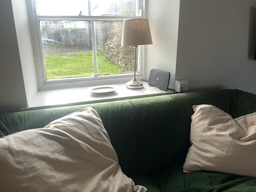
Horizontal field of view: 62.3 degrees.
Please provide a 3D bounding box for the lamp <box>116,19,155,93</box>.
[{"bbox_3d":[0.050,-0.330,1.710,0.210,0.540,0.270,-7,20,-21],"label":"lamp"}]

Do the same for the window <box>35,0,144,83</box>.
[{"bbox_3d":[-0.300,-0.680,1.830,0.900,1.080,0.090,-5,19,-17],"label":"window"}]

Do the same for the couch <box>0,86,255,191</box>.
[{"bbox_3d":[0.100,0.430,1.170,1.920,0.660,0.840,-4,19,-15],"label":"couch"}]
